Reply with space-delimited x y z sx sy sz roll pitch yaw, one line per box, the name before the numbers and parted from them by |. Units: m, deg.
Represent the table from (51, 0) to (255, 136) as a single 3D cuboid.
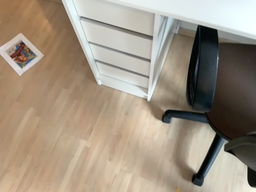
table | 0.440 -0.270 1.000 1.290 0.760 0.540 18 70 9
